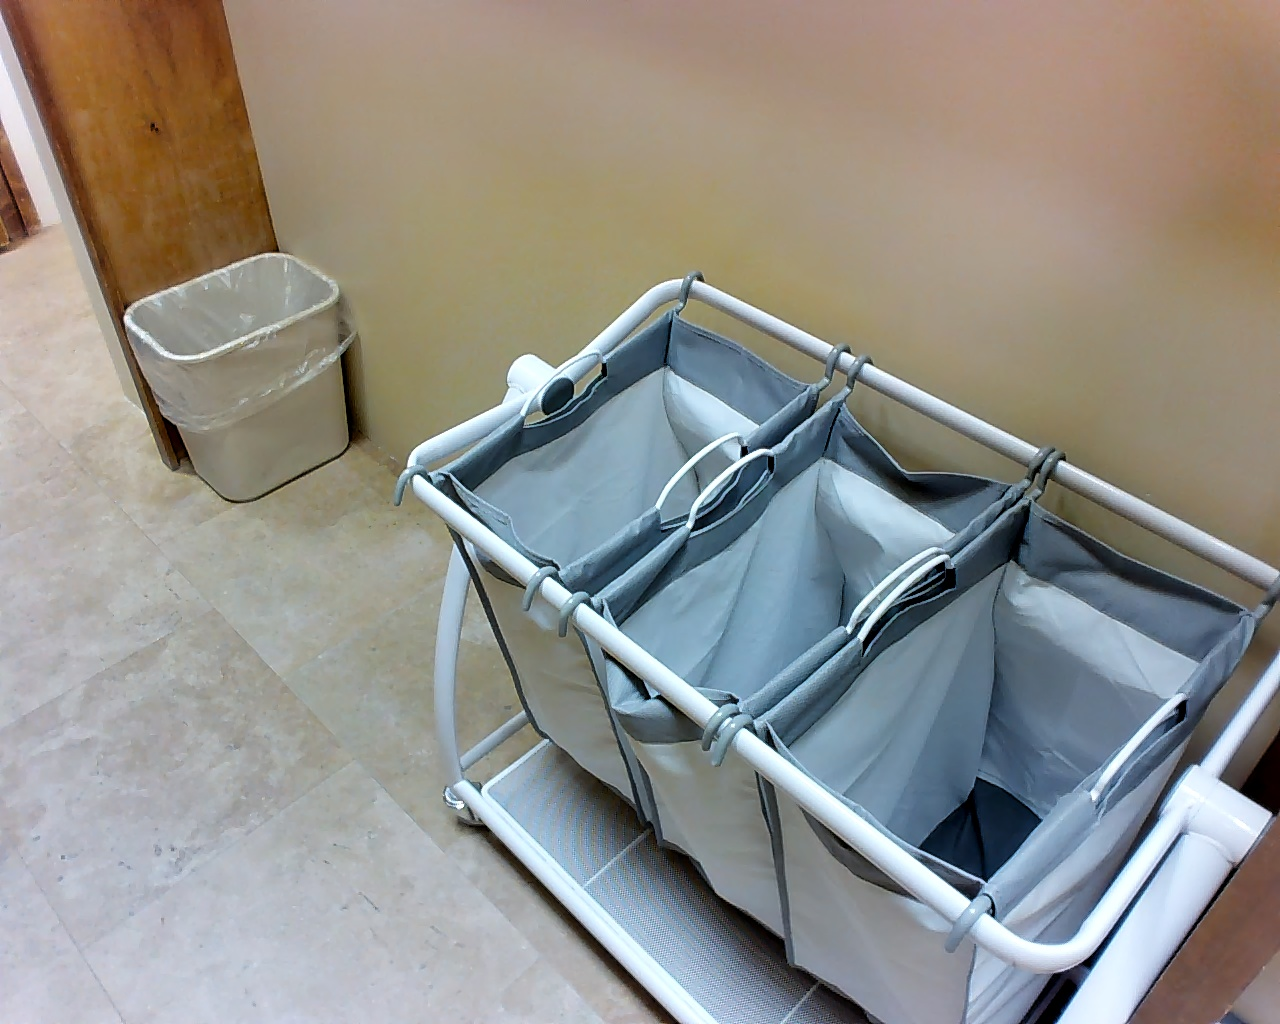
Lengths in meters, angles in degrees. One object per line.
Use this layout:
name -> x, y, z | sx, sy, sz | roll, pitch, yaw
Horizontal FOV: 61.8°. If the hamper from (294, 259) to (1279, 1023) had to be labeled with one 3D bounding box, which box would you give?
hamper -> 0.150, 0.310, 1.250 | 0.920, 0.790, 0.510 | 34, 51, 31
